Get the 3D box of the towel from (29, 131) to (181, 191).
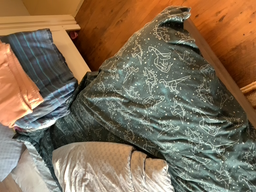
[{"bbox_3d":[-0.180,0.610,1.310,1.080,0.190,0.690,-14,98,43],"label":"towel"}]
